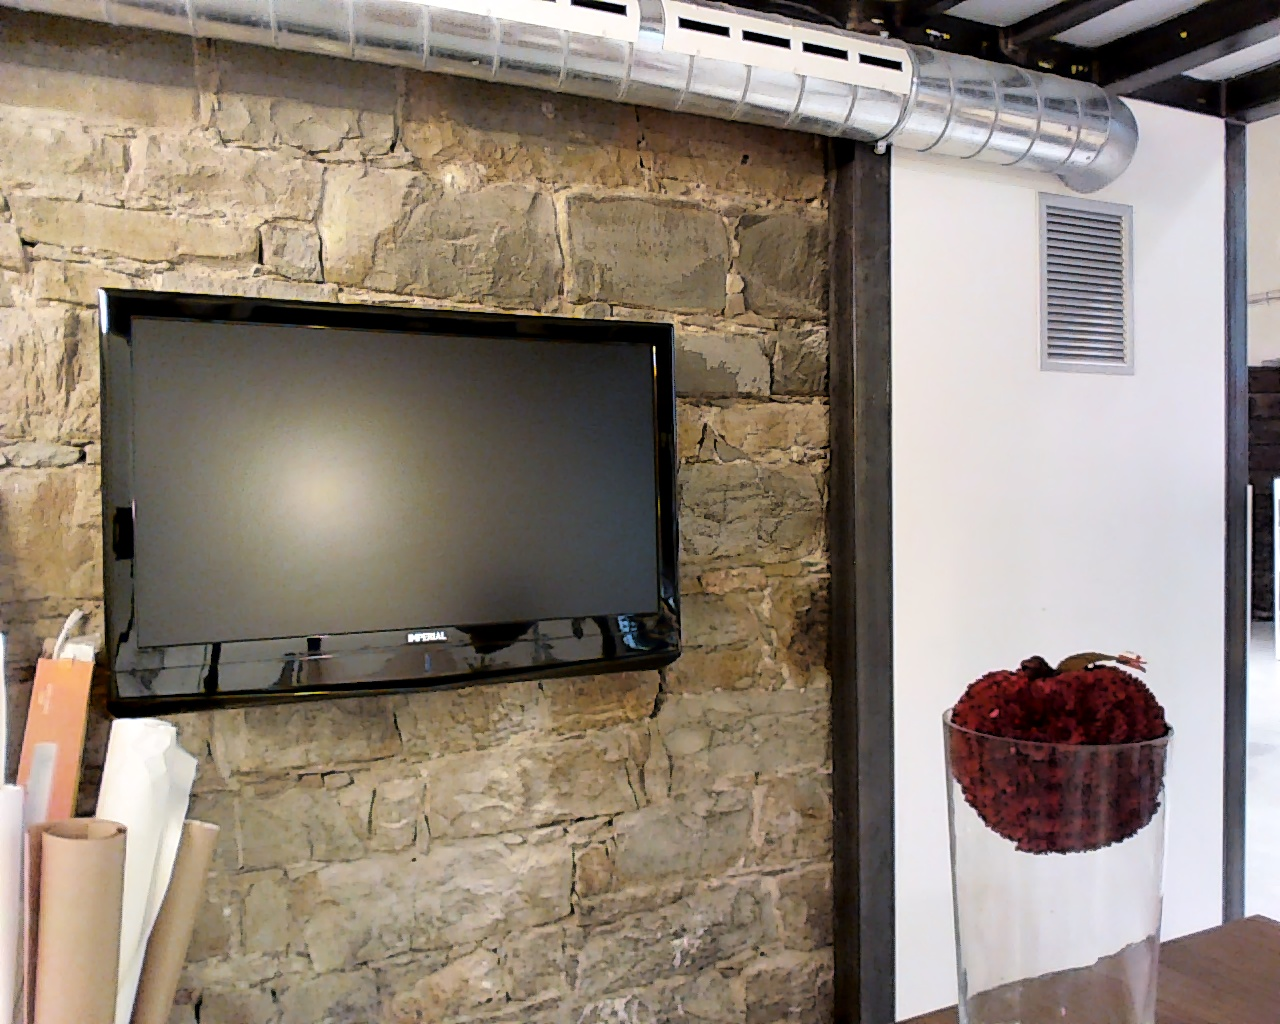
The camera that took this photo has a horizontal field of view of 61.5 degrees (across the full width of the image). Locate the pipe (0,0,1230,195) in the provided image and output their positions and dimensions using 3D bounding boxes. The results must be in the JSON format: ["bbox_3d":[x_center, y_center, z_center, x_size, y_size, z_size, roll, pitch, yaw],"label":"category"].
[{"bbox_3d":[0.030,-0.880,1.990,2.809,0.240,0.250,-1,2,-25],"label":"pipe"}]

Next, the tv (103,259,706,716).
[{"bbox_3d":[-0.390,-0.050,1.980,1.050,0.710,0.190,-1,2,-25],"label":"tv"}]

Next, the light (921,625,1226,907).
[{"bbox_3d":[0.490,0.270,1.230,0.230,0.240,0.230,-2,2,-31],"label":"light"}]
